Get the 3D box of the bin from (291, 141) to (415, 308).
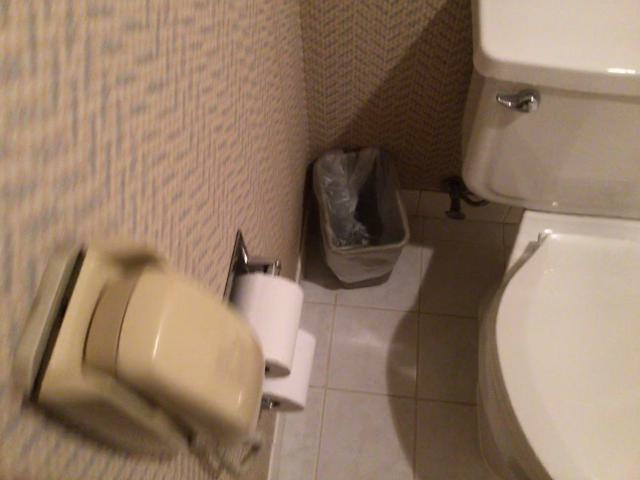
[{"bbox_3d":[0.080,-0.030,1.320,0.230,0.270,0.260,6,61,6],"label":"bin"}]
